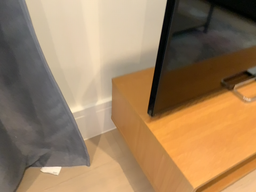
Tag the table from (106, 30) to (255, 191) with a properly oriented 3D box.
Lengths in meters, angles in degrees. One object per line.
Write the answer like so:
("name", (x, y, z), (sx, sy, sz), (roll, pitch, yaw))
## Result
("table", (0.550, -0.010, 0.910), (1.200, 0.310, 0.450), (-18, 48, -23))
